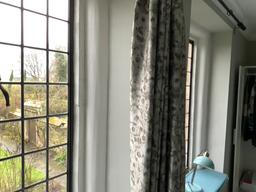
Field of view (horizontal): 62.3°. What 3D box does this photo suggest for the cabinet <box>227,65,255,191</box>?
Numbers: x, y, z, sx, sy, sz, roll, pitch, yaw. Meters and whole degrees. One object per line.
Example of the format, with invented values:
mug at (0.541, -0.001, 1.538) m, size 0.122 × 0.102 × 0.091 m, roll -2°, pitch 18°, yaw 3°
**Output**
cabinet at (1.980, 0.530, 3.000) m, size 0.870 × 1.900 × 0.530 m, roll 4°, pitch 5°, yaw 38°
